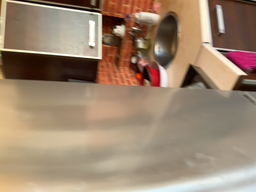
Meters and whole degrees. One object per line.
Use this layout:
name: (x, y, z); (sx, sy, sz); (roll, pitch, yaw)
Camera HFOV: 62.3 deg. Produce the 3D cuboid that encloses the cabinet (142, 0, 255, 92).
cabinet: (0.680, -0.300, 1.700); (0.970, 0.840, 0.310); (147, 124, -71)
